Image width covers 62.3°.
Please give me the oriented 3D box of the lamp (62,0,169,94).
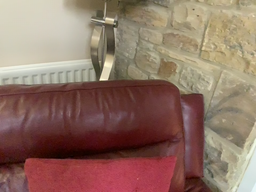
[{"bbox_3d":[-0.090,-0.440,1.140,0.400,0.690,0.430,-11,31,-30],"label":"lamp"}]
